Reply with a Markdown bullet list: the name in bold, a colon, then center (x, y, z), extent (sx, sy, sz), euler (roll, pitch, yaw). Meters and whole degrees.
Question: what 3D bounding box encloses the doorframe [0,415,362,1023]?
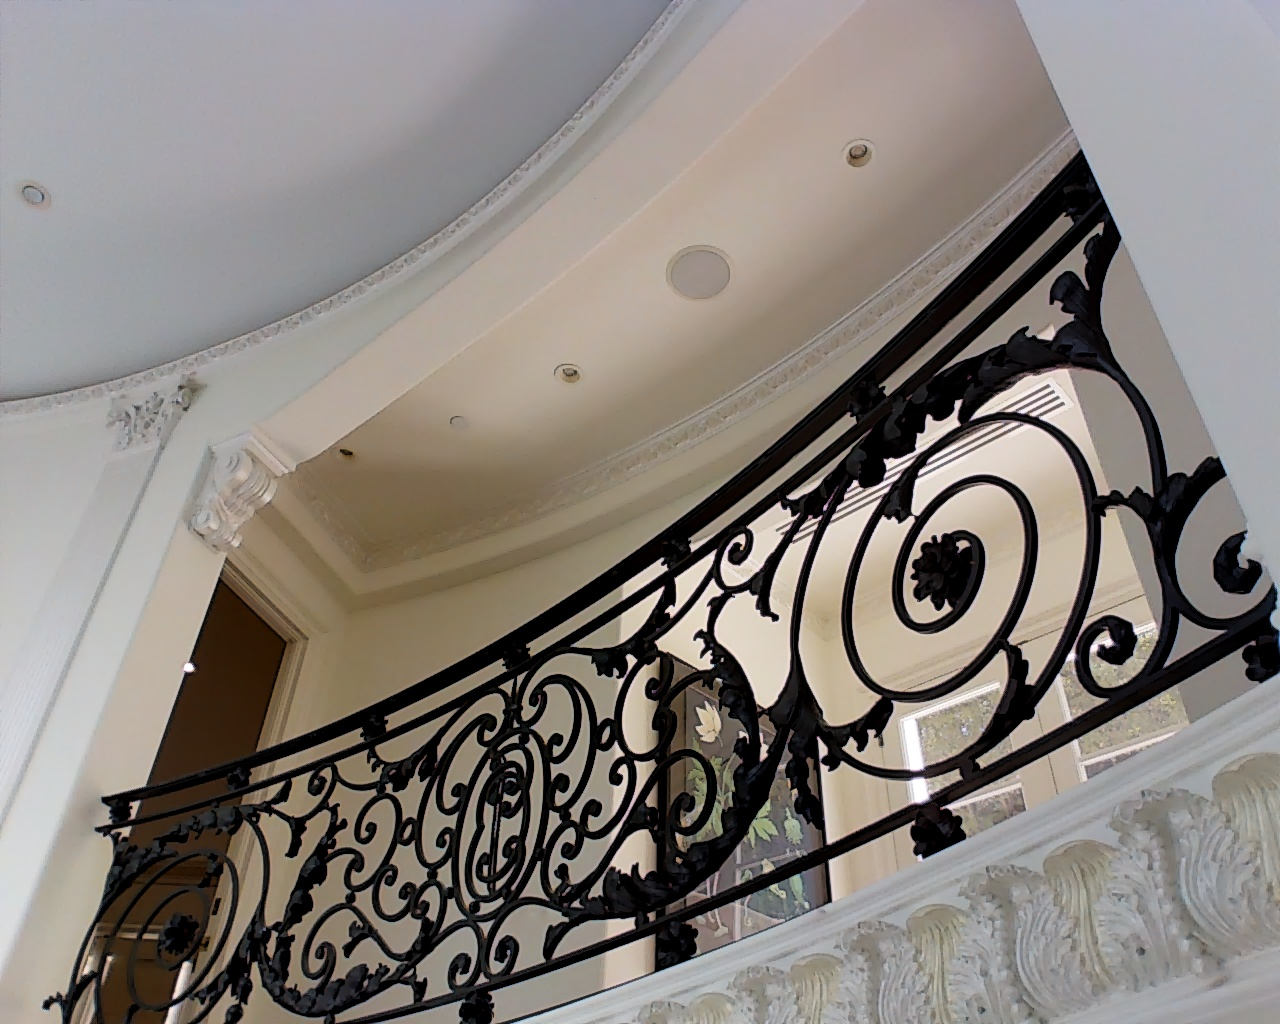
- **doorframe**: center (-1.909, 1.120, 4.330), extent (0.330, 2.851, 1.380), euler (-11, -42, 16)
